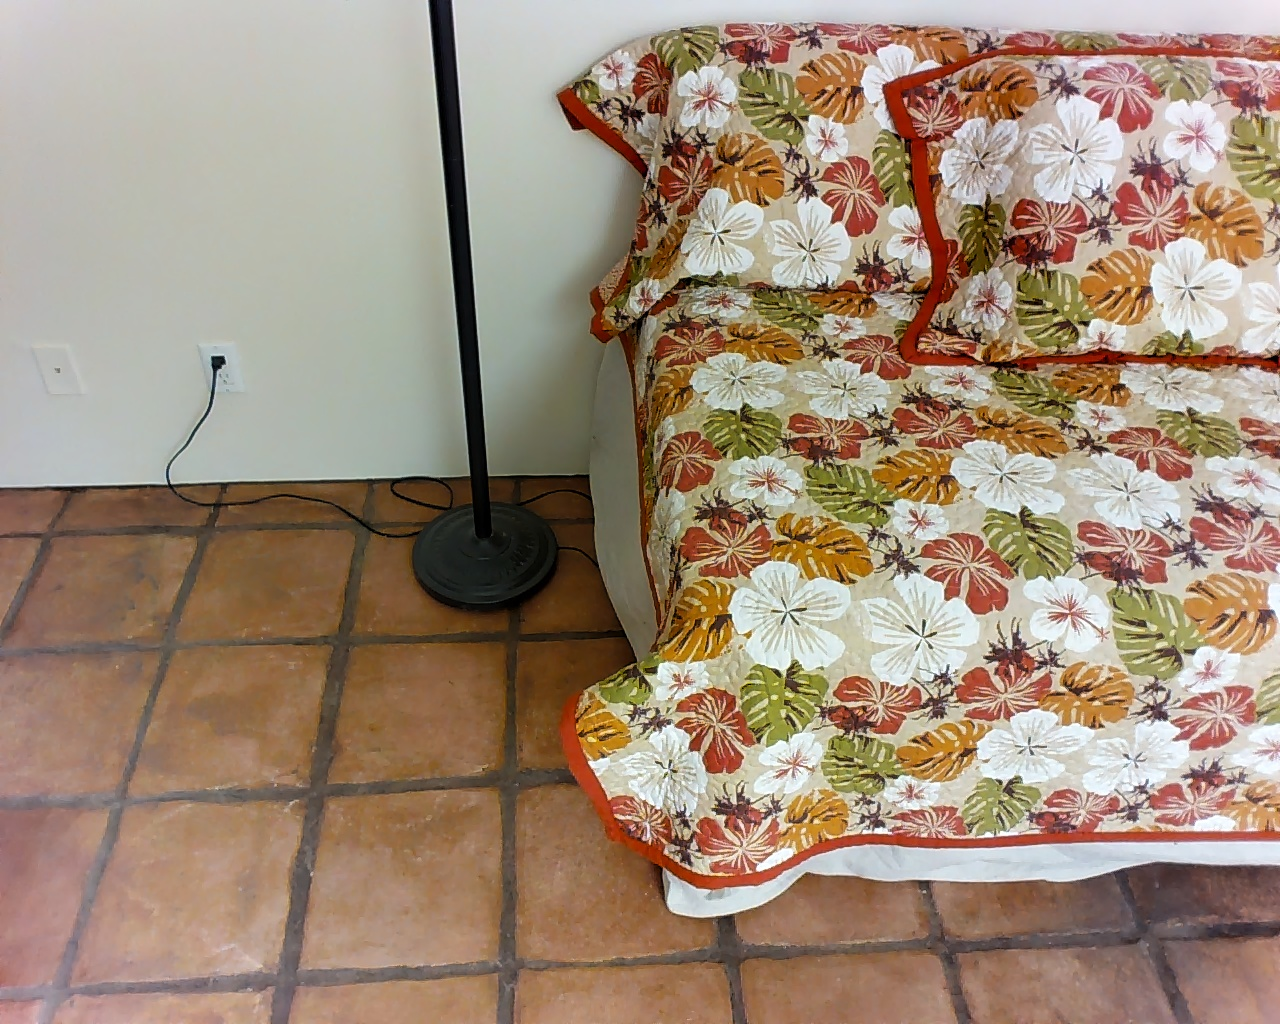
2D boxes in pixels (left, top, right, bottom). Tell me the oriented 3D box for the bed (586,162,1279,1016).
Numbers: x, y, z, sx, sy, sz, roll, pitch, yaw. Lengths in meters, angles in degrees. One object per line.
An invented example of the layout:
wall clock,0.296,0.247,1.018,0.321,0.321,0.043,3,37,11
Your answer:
bed,1.000,0.020,1.700,2.139,0.690,1.140,-1,42,-4
